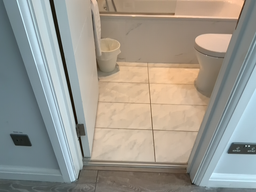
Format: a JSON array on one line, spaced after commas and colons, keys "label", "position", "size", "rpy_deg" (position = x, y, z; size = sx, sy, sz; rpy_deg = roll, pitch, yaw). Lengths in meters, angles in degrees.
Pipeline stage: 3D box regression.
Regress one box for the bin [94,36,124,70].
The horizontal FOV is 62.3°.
[{"label": "bin", "position": [-0.190, -0.450, 2.220], "size": [0.290, 0.240, 0.260], "rpy_deg": [1, 41, -1]}]
